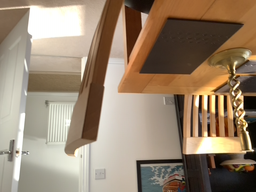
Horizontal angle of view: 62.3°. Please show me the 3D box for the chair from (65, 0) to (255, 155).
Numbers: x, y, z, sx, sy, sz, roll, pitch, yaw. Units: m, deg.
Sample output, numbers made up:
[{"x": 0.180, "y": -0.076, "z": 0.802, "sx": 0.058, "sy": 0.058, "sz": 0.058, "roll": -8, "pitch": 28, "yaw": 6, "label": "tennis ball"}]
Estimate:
[{"x": 0.100, "y": -0.370, "z": 0.690, "sx": 0.540, "sy": 1.040, "sz": 0.490, "roll": 2, "pitch": 162, "yaw": -18, "label": "chair"}]

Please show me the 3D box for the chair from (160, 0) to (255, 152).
[{"x": 0.560, "y": -0.260, "z": 1.150, "sx": 0.490, "sy": 1.040, "sz": 0.540, "roll": 2, "pitch": 162, "yaw": -16, "label": "chair"}]
